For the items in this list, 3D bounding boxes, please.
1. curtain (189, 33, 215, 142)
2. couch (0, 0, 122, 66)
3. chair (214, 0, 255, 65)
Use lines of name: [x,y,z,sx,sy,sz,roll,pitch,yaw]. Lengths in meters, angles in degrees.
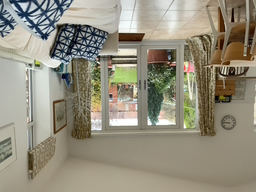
curtain: [1.590,-0.180,4.580,0.400,2.260,0.350,0,-177,-2]
couch: [-0.610,-0.720,1.840,1.070,0.750,1.840,0,-177,-1]
chair: [1.210,-0.720,2.130,0.480,0.780,0.470,0,-177,-3]
